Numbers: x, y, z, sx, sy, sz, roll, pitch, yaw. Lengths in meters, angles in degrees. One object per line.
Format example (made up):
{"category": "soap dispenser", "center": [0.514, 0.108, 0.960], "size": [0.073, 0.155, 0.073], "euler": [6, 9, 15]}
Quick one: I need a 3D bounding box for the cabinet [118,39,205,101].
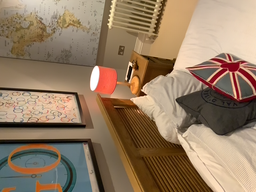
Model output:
{"category": "cabinet", "center": [0.340, -0.280, 2.330], "size": [0.440, 0.720, 0.500], "euler": [-128, 46, -57]}

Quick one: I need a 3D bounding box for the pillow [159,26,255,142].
{"category": "pillow", "center": [0.520, -0.100, 1.210], "size": [0.470, 0.450, 0.320], "euler": [54, 172, 53]}
